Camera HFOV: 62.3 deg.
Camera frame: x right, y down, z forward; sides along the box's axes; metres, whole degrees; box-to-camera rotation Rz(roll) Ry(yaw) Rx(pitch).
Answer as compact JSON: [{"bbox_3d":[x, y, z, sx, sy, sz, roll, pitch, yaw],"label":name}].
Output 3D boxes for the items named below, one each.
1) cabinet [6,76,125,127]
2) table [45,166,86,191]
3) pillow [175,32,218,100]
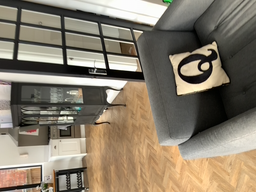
[{"bbox_3d":[-1.040,0.150,3.580,0.940,1.700,0.380,130,135,-52],"label":"cabinet"},{"bbox_3d":[-1.630,2.300,5.520,0.510,0.920,0.720,129,136,-52],"label":"table"},{"bbox_3d":[0.420,-0.170,1.290,0.120,0.310,0.280,-20,62,23],"label":"pillow"}]
